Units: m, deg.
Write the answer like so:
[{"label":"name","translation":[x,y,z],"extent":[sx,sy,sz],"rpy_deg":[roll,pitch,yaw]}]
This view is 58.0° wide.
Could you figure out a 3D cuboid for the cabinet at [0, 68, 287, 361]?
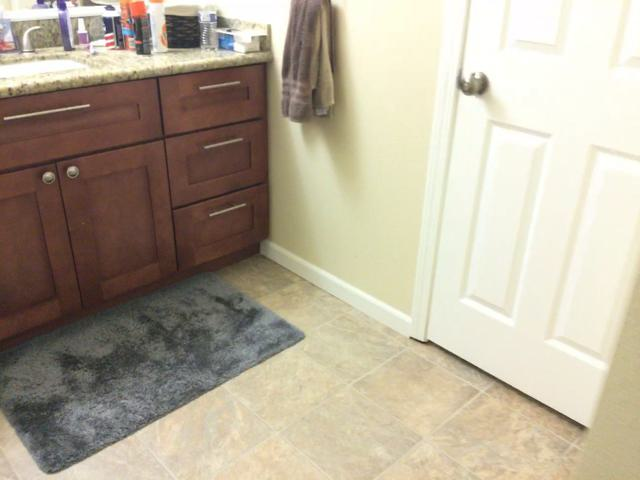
[{"label":"cabinet","translation":[-0.790,-0.080,1.880],"extent":[1.680,0.780,0.100],"rpy_deg":[-20,32,-39]}]

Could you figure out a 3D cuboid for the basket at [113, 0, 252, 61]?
[{"label":"basket","translation":[-0.550,-0.860,2.290],"extent":[0.320,0.210,0.490],"rpy_deg":[-20,32,-39]}]

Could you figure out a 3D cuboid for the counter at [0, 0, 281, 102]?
[{"label":"counter","translation":[-0.960,-0.620,1.830],"extent":[1.650,0.230,0.610],"rpy_deg":[-20,32,-39]}]
